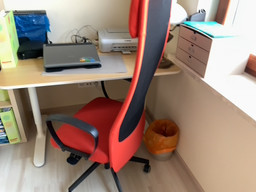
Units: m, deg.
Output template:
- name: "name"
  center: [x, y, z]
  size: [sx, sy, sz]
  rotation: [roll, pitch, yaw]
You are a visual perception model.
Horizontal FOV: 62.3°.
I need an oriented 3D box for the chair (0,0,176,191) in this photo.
- name: "chair"
  center: [-0.200, 0.020, 1.290]
  size: [0.700, 1.290, 0.570]
  rotation: [14, 32, 18]
